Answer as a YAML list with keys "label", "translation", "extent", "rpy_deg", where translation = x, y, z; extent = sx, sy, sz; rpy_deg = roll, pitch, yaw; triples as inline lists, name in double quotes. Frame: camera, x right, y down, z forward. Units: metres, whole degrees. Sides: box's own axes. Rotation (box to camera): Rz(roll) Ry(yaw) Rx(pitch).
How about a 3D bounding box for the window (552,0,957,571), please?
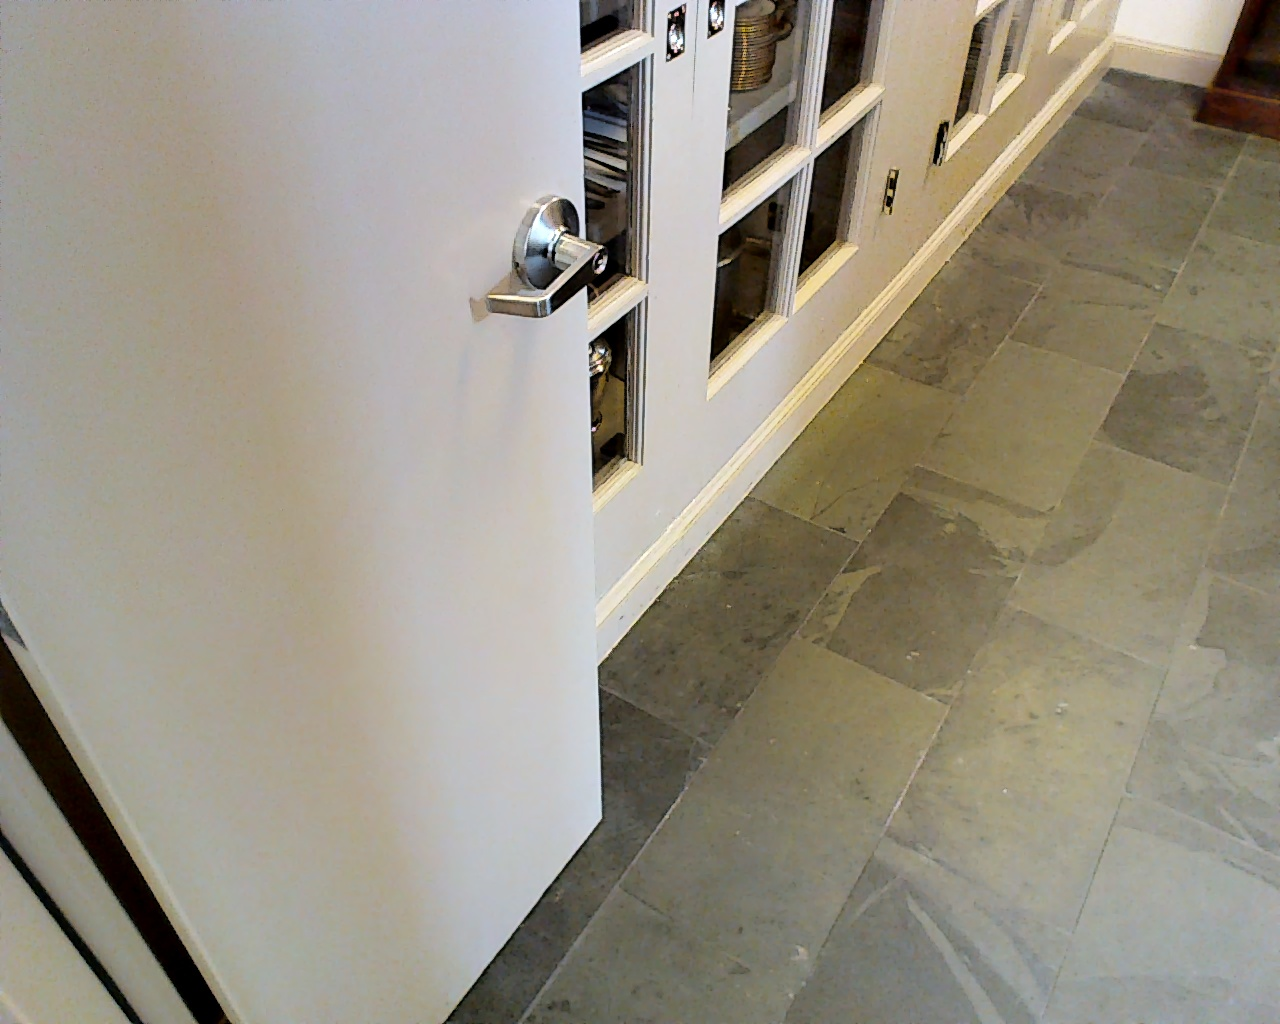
- label: "window"
  translation: [0.270, -1.030, 1.820]
  extent: [0.280, 2.180, 1.040]
  rpy_deg: [24, 47, 23]
